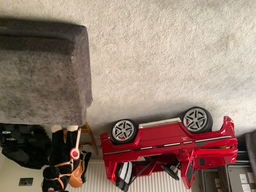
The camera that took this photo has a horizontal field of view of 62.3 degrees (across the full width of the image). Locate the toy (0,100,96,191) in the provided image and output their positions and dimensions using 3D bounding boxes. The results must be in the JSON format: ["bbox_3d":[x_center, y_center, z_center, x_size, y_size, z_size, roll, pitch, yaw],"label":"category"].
[{"bbox_3d":[-0.640,0.630,1.980,0.490,0.740,0.990,0,143,0],"label":"toy"}]

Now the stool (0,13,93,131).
[{"bbox_3d":[-0.610,-0.100,1.370,0.690,0.320,0.750,2,143,-3],"label":"stool"}]
